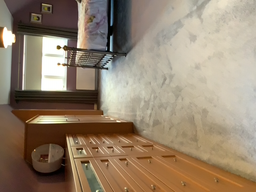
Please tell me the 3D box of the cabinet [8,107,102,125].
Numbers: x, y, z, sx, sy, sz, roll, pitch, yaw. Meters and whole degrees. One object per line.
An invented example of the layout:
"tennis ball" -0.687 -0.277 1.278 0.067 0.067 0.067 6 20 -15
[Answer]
"cabinet" -1.800 0.490 5.450 0.960 2.090 0.370 176 95 -71

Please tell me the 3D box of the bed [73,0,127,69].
"bed" -0.630 -1.820 4.260 1.690 0.740 2.250 175 97 -71
